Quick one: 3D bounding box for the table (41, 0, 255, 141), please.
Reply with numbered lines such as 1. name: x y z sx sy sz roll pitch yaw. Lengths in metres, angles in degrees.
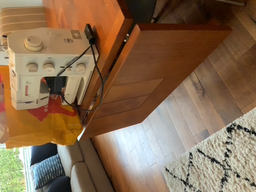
1. table: -0.130 -0.710 1.490 0.910 0.710 1.700 -53 49 49
